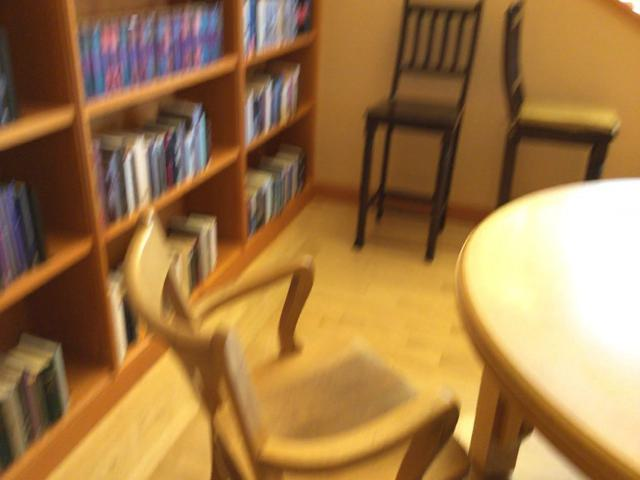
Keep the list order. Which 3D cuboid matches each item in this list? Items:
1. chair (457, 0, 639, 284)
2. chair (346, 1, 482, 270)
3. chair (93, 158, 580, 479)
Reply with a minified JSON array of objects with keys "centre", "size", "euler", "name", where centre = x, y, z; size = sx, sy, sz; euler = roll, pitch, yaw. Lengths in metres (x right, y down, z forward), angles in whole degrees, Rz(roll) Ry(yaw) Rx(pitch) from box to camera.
[{"centre":[1.020,-0.450,2.600],"size":[0.610,1.130,0.460],"euler":[9,27,16],"name":"chair"},{"centre":[0.440,-0.510,2.770],"size":[0.470,1.130,0.520],"euler":[9,27,16],"name":"chair"},{"centre":[-0.050,0.390,1.260],"size":[0.680,0.900,0.690],"euler":[-9,28,-19],"name":"chair"}]
